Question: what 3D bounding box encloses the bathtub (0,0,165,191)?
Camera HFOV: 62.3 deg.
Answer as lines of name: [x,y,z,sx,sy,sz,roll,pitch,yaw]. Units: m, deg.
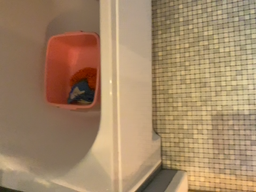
bathtub: [-0.240,-0.280,1.090,0.690,0.600,1.370,-2,88,23]
